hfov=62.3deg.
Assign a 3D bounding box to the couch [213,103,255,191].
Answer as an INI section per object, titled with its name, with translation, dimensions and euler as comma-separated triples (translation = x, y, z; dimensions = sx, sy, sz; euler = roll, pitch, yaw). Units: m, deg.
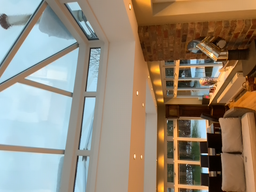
[couch]
translation = 2.230, 1.160, 4.220
dimensions = 0.890, 0.760, 1.880
euler = 58, -146, -70
